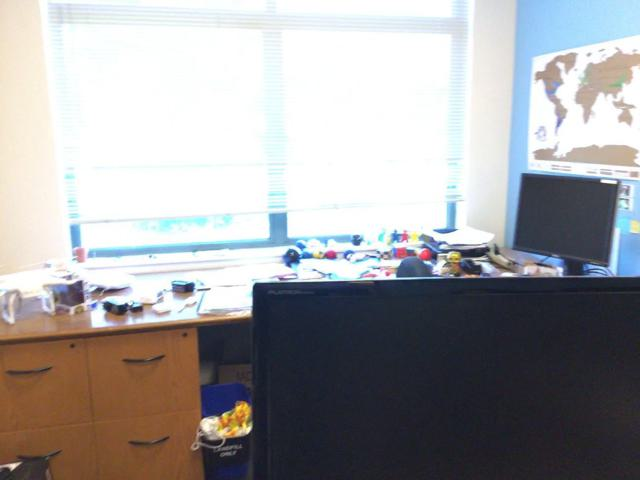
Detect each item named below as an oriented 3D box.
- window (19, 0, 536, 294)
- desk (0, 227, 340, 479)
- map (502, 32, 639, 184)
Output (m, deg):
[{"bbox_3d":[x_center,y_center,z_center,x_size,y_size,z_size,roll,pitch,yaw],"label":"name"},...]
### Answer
[{"bbox_3d":[-0.080,-0.530,2.810,2.360,1.360,0.230,-4,12,-15],"label":"window"},{"bbox_3d":[-0.690,0.490,2.460,1.350,0.880,0.850,-4,12,-15],"label":"desk"},{"bbox_3d":[1.090,-0.570,2.580,0.080,0.560,0.810,-4,12,-15],"label":"map"}]
